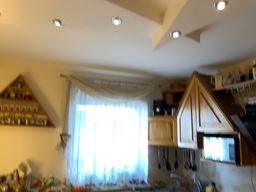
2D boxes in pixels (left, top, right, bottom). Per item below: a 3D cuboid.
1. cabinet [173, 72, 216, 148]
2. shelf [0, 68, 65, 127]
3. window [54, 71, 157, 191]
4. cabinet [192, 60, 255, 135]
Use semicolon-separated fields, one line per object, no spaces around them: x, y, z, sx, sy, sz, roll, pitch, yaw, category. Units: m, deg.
0.970;0.220;3.160;0.400;1.040;0.440;5;-10;-23;cabinet
-1.410;0.030;2.810;1.040;0.730;0.100;6;-10;-24;shelf
-0.250;0.580;3.160;1.490;1.750;0.130;5;-10;-22;window
1.190;0.060;2.700;0.400;0.840;0.590;5;-10;-23;cabinet
